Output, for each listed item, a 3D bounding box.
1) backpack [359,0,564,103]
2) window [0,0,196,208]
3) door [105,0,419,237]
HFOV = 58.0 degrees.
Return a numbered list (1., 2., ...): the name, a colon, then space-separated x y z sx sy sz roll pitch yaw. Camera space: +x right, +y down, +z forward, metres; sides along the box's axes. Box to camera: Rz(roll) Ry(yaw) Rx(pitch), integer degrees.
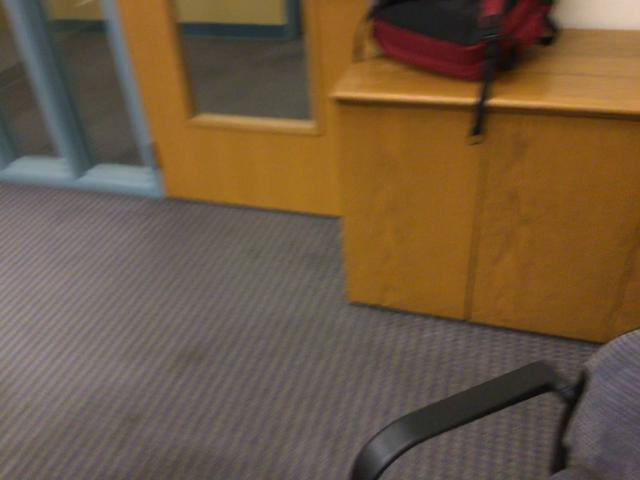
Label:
1. backpack: 0.370 -0.610 1.410 0.420 0.340 0.460 11 41 20
2. window: -1.180 -0.630 2.460 1.140 0.770 0.330 11 41 20
3. door: -0.220 -0.790 1.850 1.050 1.630 0.170 11 41 20
